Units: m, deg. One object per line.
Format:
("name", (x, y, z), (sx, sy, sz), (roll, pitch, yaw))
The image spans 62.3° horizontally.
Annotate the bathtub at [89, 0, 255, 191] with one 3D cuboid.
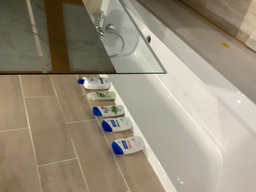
("bathtub", (0.360, -0.090, 1.380), (1.690, 0.590, 0.710), (57, 138, 38))
